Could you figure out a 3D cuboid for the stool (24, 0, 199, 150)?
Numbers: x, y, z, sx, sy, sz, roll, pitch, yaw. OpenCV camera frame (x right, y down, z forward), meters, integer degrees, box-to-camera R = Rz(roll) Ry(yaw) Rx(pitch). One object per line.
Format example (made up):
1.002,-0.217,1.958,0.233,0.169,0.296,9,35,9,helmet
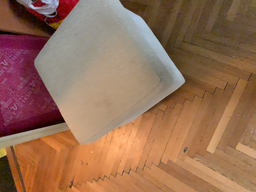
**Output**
-0.050,-0.110,0.900,0.440,0.440,0.420,-34,77,27,stool
